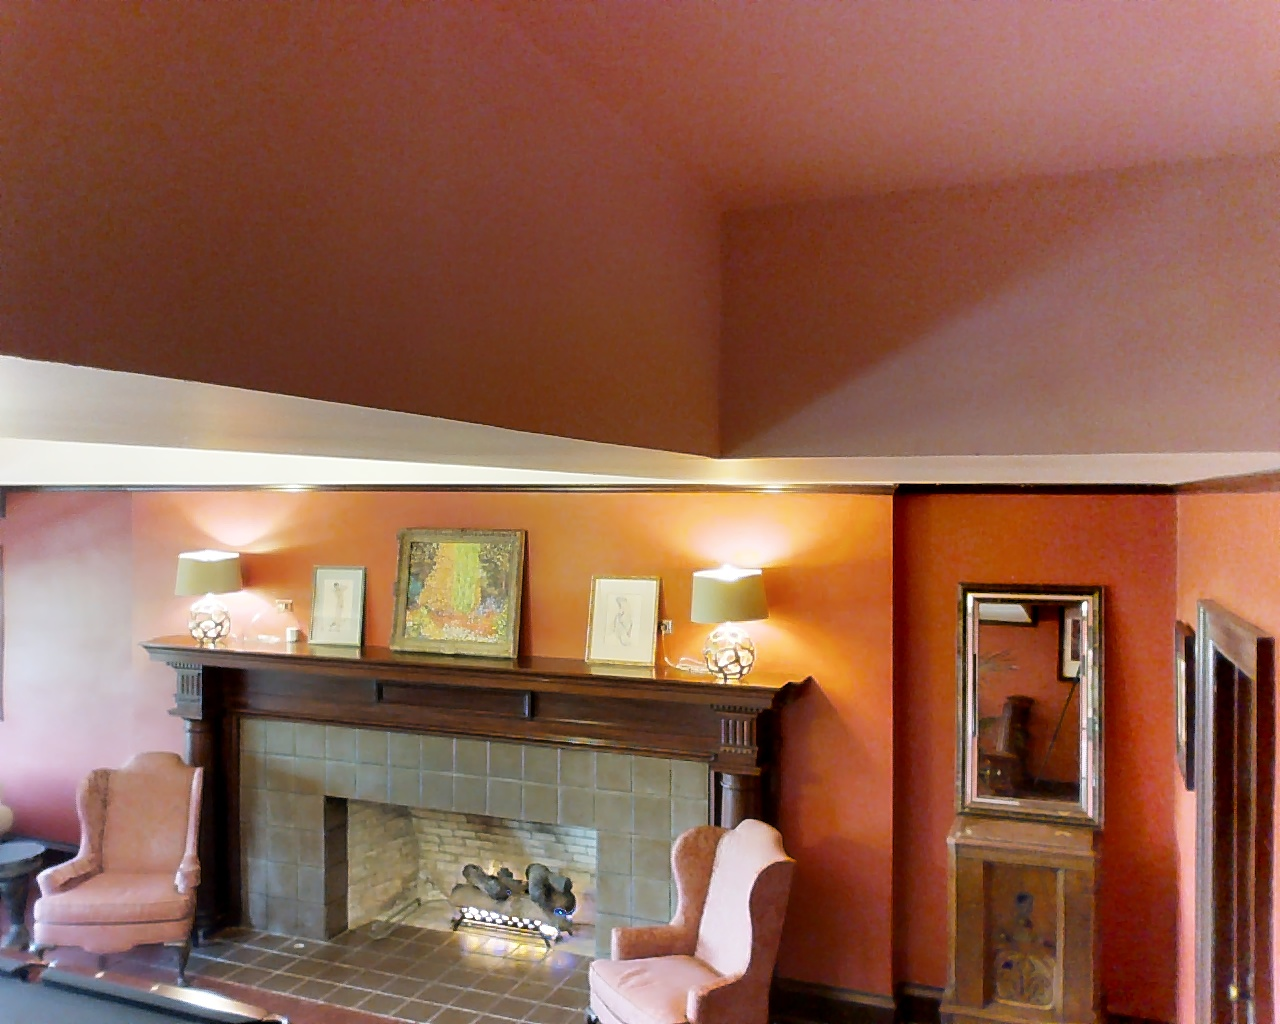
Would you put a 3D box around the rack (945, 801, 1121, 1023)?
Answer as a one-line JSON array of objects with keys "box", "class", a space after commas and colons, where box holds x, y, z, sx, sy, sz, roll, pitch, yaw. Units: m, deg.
[{"box": [1.800, 2.010, 4.950, 0.720, 1.170, 0.490, 0, 1, 21], "class": "rack"}]

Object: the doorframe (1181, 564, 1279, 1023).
[{"box": [1.790, 1.390, 3.200, 0.210, 2.390, 1.360, 0, 1, 22], "class": "doorframe"}]

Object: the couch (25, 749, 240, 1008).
[{"box": [-2.830, 2.020, 6.110, 0.880, 1.140, 0.850, 0, 1, -7], "class": "couch"}]
